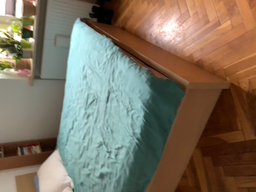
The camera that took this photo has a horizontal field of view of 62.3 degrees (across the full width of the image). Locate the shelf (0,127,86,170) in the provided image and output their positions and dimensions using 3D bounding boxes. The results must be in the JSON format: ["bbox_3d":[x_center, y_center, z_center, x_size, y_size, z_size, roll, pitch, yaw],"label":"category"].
[{"bbox_3d":[-1.610,0.760,3.000,0.480,1.930,0.220,45,127,47],"label":"shelf"}]
